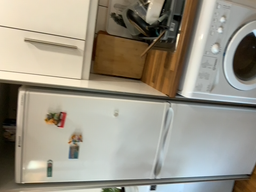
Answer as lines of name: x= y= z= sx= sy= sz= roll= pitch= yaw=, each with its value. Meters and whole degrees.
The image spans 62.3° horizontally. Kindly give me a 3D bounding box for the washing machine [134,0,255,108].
washing machine: x=0.650 y=-0.320 z=1.590 sx=0.710 sy=0.930 sz=0.610 roll=-139 pitch=57 yaw=-66
